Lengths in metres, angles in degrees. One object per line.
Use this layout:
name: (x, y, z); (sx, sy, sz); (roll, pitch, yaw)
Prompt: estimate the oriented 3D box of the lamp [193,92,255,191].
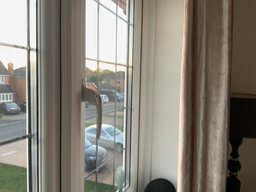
lamp: (0.590, 0.350, 1.260); (0.330, 0.720, 0.440); (3, 4, 23)
